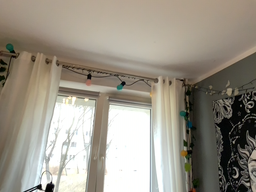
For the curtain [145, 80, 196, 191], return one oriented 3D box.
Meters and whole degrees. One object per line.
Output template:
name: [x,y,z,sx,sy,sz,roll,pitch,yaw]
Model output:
curtain: [0.430,0.640,2.240,0.370,1.550,0.370,8,-18,-18]
